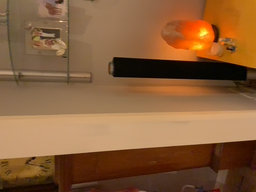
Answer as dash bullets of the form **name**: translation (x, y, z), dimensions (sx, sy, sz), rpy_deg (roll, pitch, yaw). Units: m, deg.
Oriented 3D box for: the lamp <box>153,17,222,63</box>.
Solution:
- **lamp**: translation (0.360, -0.350, 1.330), dimensions (0.190, 0.330, 0.240), rpy_deg (-131, 44, -64)
